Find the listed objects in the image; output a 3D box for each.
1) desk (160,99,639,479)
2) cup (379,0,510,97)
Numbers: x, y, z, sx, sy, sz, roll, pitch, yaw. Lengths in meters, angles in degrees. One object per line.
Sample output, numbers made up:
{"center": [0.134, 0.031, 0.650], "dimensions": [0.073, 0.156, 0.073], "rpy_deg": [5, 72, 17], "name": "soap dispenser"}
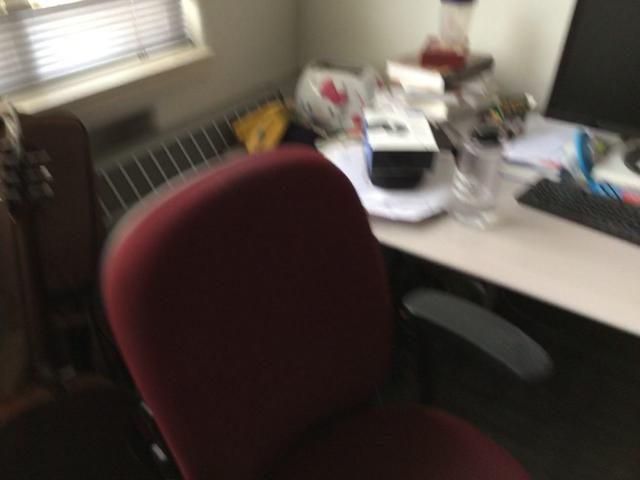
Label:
{"center": [0.620, 0.260, 1.510], "dimensions": [2.030, 0.730, 0.780], "rpy_deg": [20, 36, 30], "name": "desk"}
{"center": [0.340, -0.570, 1.550], "dimensions": [0.200, 0.260, 0.350], "rpy_deg": [20, 36, 30], "name": "cup"}
